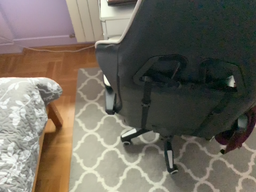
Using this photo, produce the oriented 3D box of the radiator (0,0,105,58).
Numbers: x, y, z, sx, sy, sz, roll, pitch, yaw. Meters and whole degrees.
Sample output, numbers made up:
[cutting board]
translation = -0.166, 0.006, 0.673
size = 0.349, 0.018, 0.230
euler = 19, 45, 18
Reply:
[radiator]
translation = -0.620, -0.730, 1.800
size = 0.750, 0.800, 0.280
euler = -1, 52, 0
